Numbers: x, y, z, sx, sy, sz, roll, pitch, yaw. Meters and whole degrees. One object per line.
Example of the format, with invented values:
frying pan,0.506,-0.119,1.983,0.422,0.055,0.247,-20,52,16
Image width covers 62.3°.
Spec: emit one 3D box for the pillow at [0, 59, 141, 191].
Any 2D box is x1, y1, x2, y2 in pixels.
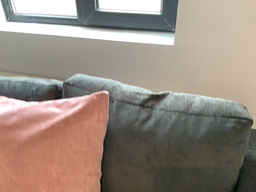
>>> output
pillow,-0.330,0.210,0.690,0.590,0.520,0.210,21,18,-4
